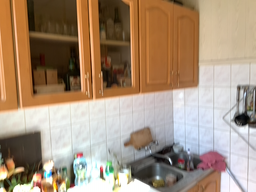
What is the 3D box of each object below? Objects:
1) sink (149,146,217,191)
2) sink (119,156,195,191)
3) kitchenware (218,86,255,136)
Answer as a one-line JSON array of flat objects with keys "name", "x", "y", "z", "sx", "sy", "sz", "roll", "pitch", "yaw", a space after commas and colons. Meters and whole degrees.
[{"name": "sink", "x": 0.530, "y": 0.700, "z": 2.060, "sx": 0.400, "sy": 0.210, "sz": 0.500, "roll": -7, "pitch": 8, "yaw": -42}, {"name": "sink", "x": 0.240, "y": 0.720, "z": 1.800, "sx": 0.390, "sy": 0.180, "sz": 0.500, "roll": -7, "pitch": 8, "yaw": -42}, {"name": "kitchenware", "x": 1.010, "y": 0.120, "z": 1.710, "sx": 0.070, "sy": 0.390, "sz": 0.530, "roll": -7, "pitch": 8, "yaw": -41}]
